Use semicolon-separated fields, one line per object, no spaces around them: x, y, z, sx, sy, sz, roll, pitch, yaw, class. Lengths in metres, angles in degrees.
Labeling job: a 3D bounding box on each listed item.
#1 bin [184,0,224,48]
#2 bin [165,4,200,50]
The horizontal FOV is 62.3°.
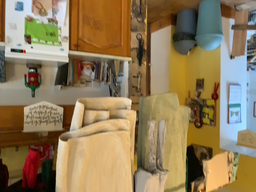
1.090;-1.060;3.060;0.410;0.600;0.370;0;-179;-34;bin
0.870;-1.080;3.400;0.390;0.570;0.370;0;-179;-33;bin
